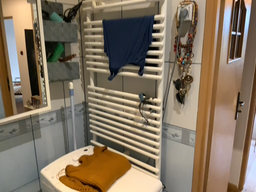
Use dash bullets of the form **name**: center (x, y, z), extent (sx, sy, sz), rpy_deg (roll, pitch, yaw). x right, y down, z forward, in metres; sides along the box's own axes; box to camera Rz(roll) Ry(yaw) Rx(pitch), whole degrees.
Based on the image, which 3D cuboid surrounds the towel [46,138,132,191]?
- **towel**: center (-0.230, 0.400, 1.280), extent (0.390, 0.070, 0.330), rpy_deg (11, 18, 35)
